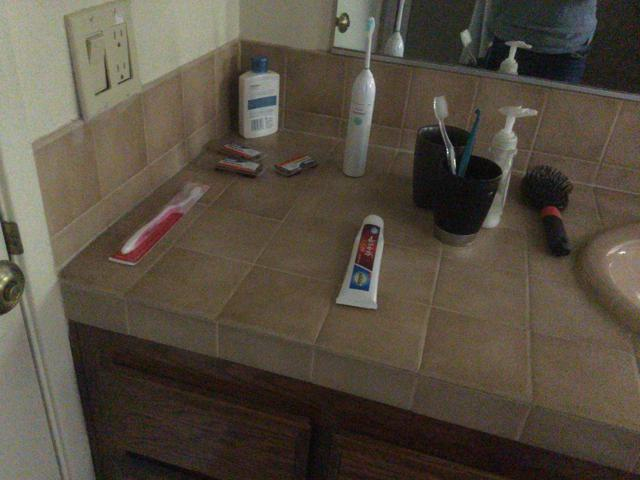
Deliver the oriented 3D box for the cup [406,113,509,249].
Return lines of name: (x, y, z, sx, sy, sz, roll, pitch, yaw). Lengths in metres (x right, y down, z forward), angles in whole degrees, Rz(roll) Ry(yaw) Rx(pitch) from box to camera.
cup: (0.180, -0.080, 0.760, 0.100, 0.130, 0.110, 12, 31, 10)

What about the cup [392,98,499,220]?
cup: (0.180, -0.120, 0.830, 0.120, 0.120, 0.120, 12, 31, 10)

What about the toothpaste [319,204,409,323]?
toothpaste: (0.060, 0.020, 0.710, 0.070, 0.030, 0.210, 12, 31, 10)
